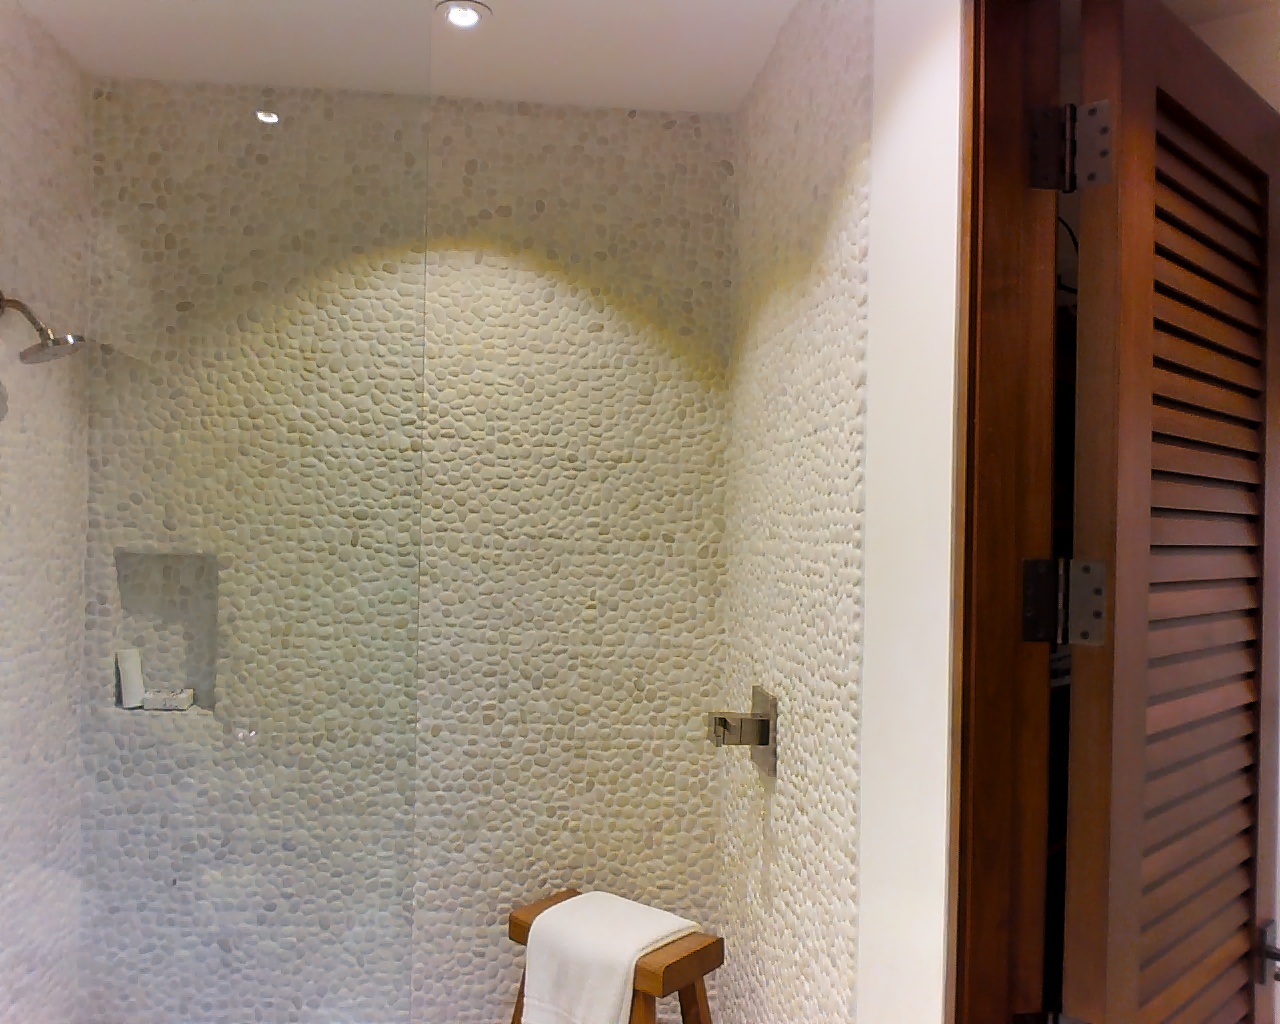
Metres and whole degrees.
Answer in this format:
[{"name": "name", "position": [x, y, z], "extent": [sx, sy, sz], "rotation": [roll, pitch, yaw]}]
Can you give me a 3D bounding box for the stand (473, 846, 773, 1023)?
[{"name": "stand", "position": [-0.050, 1.280, 2.660], "extent": [0.580, 0.680, 0.460], "rotation": [1, -1, 44]}]
